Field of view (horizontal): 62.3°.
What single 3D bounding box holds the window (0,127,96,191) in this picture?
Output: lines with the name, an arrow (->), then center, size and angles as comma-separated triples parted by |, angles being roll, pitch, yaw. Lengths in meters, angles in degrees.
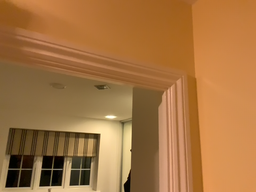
window -> -1.470, 1.250, 4.180 | 1.650, 1.120, 0.060 | 9, -17, -26
